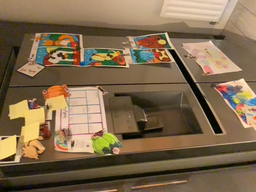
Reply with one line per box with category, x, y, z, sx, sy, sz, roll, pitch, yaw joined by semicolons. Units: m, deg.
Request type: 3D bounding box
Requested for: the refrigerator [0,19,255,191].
refrigerator;0.210;0.140;1.510;0.800;1.770;0.980;105;158;-44
